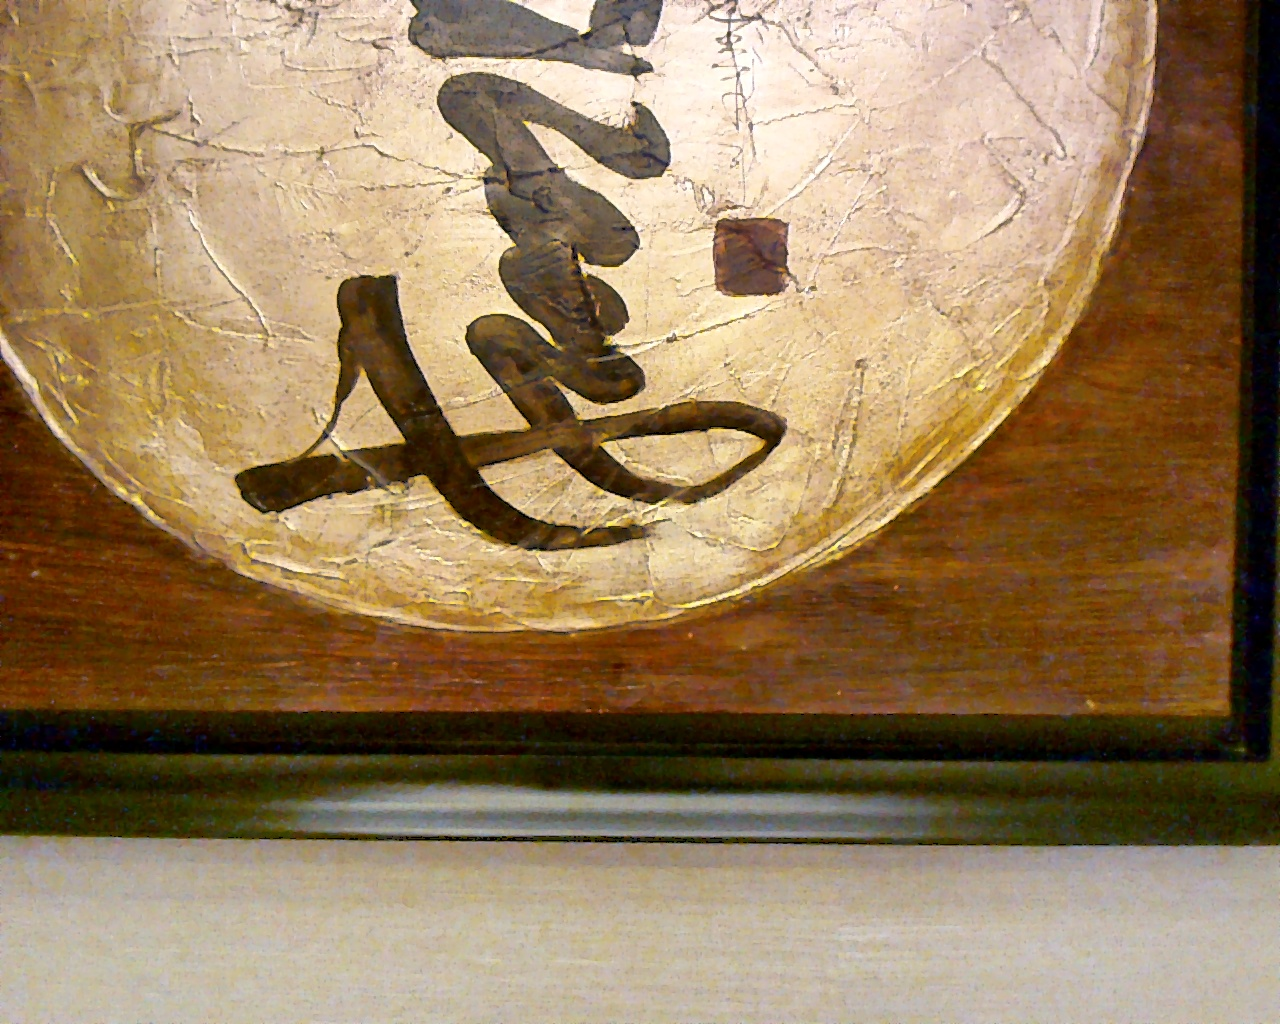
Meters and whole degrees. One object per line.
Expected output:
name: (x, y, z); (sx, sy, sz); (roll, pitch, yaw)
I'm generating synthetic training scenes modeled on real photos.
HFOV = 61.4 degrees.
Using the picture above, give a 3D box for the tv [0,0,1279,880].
tv: (-0.060, -0.250, 0.570); (0.870, 0.870, 0.060); (0, 1, -1)
